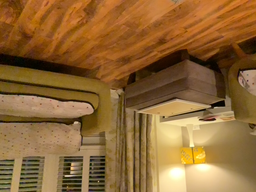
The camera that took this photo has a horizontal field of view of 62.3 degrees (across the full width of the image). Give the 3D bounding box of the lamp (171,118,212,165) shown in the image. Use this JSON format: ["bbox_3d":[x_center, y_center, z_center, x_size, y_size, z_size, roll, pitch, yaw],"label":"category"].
[{"bbox_3d":[0.830,0.610,2.800,0.320,0.560,0.340,13,159,-38],"label":"lamp"}]
